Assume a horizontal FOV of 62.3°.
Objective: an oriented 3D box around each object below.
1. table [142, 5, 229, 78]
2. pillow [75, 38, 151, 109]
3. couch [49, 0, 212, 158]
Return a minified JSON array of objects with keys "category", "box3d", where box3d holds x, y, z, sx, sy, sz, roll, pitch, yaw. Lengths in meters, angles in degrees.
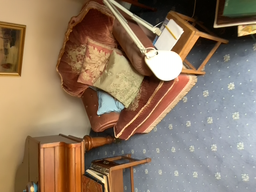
[{"category":"table","box3d":[0.420,-0.390,1.590,0.340,0.400,0.350,56,131,35]},{"category":"pillow","box3d":[-0.130,-0.180,1.770,0.130,0.510,0.400,-67,3,-60]},{"category":"couch","box3d":[-0.090,-0.170,1.920,1.030,0.810,0.890,-55,50,37]}]
